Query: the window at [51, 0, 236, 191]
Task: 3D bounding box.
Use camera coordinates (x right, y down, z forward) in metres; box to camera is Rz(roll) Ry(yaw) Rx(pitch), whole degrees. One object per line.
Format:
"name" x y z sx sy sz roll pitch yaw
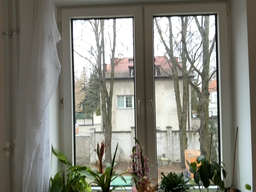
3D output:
"window" 0.130 0.030 1.850 1.490 1.780 0.220 -1 0 0
